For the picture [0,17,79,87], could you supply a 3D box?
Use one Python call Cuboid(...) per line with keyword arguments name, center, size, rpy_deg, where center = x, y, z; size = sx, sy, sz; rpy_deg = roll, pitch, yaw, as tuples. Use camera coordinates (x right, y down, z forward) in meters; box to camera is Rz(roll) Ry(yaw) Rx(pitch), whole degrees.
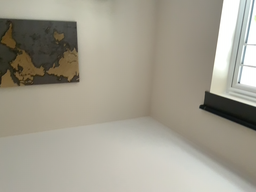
Cuboid(name="picture", center=(-0.910, -0.400, 1.970), size=(0.900, 0.600, 0.030), rpy_deg=(-5, -162, -27))
